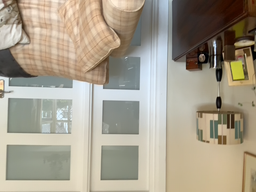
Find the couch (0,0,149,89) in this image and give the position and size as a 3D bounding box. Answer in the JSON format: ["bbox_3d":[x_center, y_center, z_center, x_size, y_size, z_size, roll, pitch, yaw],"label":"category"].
[{"bbox_3d":[-0.620,-0.570,1.320,1.280,0.970,1.050,1,179,-8],"label":"couch"}]
